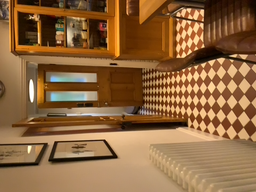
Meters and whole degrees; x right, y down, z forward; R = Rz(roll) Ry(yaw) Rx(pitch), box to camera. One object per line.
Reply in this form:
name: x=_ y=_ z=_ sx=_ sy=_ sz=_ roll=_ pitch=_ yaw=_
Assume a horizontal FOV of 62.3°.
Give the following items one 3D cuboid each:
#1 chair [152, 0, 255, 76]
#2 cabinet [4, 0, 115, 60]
chair: x=0.660 y=-0.380 z=1.170 sx=0.410 sy=0.960 sz=0.470 roll=172 pitch=98 yaw=-73
cabinet: x=-0.850 y=-1.080 z=2.810 sx=0.330 sy=1.320 sz=1.080 roll=-178 pitch=88 yaw=-73
